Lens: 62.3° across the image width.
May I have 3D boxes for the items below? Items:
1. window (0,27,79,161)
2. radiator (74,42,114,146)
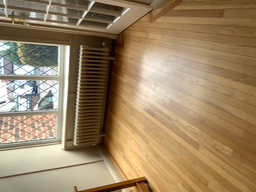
[{"bbox_3d":[-1.590,0.010,2.670,0.230,1.800,1.690,34,121,57],"label":"window"},{"bbox_3d":[-0.490,0.000,2.980,0.140,0.420,1.430,33,120,57],"label":"radiator"}]
